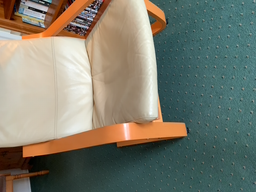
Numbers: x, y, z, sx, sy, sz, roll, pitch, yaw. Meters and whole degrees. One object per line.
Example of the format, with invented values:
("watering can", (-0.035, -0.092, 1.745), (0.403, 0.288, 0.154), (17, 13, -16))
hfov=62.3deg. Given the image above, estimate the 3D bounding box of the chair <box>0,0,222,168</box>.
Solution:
("chair", (-0.280, -0.090, 0.990), (0.850, 0.970, 0.710), (-24, 68, 44))
